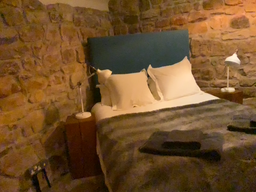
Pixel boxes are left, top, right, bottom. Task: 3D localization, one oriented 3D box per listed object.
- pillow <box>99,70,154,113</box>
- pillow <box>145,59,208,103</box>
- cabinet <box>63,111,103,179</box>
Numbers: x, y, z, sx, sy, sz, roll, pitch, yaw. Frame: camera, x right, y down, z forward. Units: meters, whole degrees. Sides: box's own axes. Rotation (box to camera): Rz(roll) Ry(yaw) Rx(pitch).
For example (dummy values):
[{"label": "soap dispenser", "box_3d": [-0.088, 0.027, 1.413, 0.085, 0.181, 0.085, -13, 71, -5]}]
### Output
[{"label": "pillow", "box_3d": [-0.040, -0.090, 2.800, 0.560, 0.400, 0.560, -9, 14, -13]}, {"label": "pillow", "box_3d": [0.670, -0.240, 2.990, 0.690, 0.470, 0.490, -9, 14, -14]}, {"label": "cabinet", "box_3d": [-0.540, 0.560, 2.530, 0.350, 0.640, 0.370, -9, 14, -14]}]
